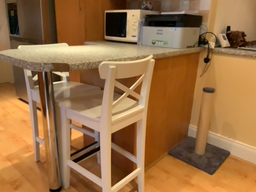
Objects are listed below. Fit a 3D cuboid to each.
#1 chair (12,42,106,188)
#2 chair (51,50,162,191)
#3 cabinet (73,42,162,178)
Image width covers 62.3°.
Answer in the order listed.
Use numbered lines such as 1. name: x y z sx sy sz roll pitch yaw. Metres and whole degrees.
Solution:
1. chair: -0.490 0.090 1.600 0.490 0.910 0.420 18 25 39
2. chair: -0.130 0.200 1.320 0.440 0.890 0.430 18 25 40
3. cabinet: -0.110 0.060 1.710 0.640 0.910 0.290 18 25 40
